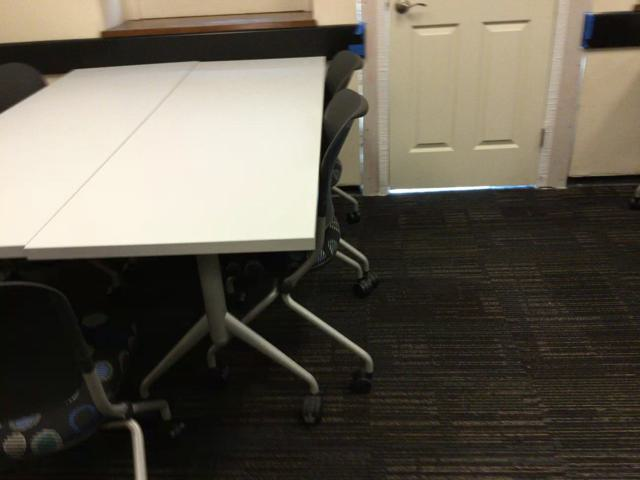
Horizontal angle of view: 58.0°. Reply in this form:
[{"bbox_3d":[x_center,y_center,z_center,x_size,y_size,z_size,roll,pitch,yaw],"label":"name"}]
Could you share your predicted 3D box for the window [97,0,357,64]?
[{"bbox_3d":[-0.410,-1.270,2.650,1.130,0.780,0.450,0,28,6],"label":"window"}]
